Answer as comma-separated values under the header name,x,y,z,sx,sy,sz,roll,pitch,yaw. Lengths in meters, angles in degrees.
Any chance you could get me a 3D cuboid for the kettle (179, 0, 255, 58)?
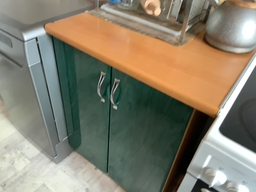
name,x,y,z,sx,sy,sz,roll,pitch,yaw
kettle,0.350,-0.290,0.770,0.200,0.160,0.240,30,46,24
